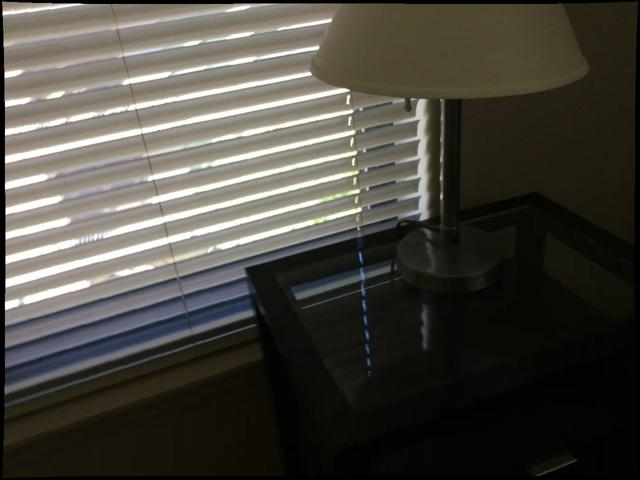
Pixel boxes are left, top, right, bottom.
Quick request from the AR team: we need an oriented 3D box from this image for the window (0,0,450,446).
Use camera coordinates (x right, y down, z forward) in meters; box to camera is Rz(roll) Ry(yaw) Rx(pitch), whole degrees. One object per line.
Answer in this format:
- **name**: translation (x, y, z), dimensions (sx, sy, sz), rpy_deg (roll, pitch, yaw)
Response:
- **window**: translation (-0.310, -0.090, 1.070), dimensions (1.199, 0.811, 0.120), rpy_deg (-16, 30, -16)

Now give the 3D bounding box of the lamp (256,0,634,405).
- **lamp**: translation (0.170, -0.160, 0.960), dimensions (0.390, 0.640, 0.410), rpy_deg (-15, 30, -14)
